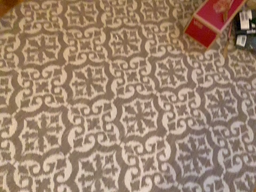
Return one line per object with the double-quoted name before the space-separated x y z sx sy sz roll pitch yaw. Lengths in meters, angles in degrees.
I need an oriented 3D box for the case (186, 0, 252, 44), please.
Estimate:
"case" 0.450 -0.430 0.980 0.170 0.130 0.340 39 67 8
